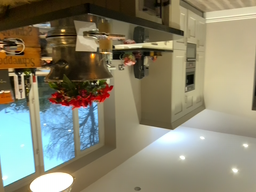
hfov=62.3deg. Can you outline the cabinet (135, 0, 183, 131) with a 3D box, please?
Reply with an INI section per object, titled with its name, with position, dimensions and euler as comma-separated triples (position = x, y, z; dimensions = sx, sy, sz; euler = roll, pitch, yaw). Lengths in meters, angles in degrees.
[cabinet]
position = 0.570, -0.600, 3.860
dimensions = 0.620, 2.280, 0.630
euler = 6, -168, 34
